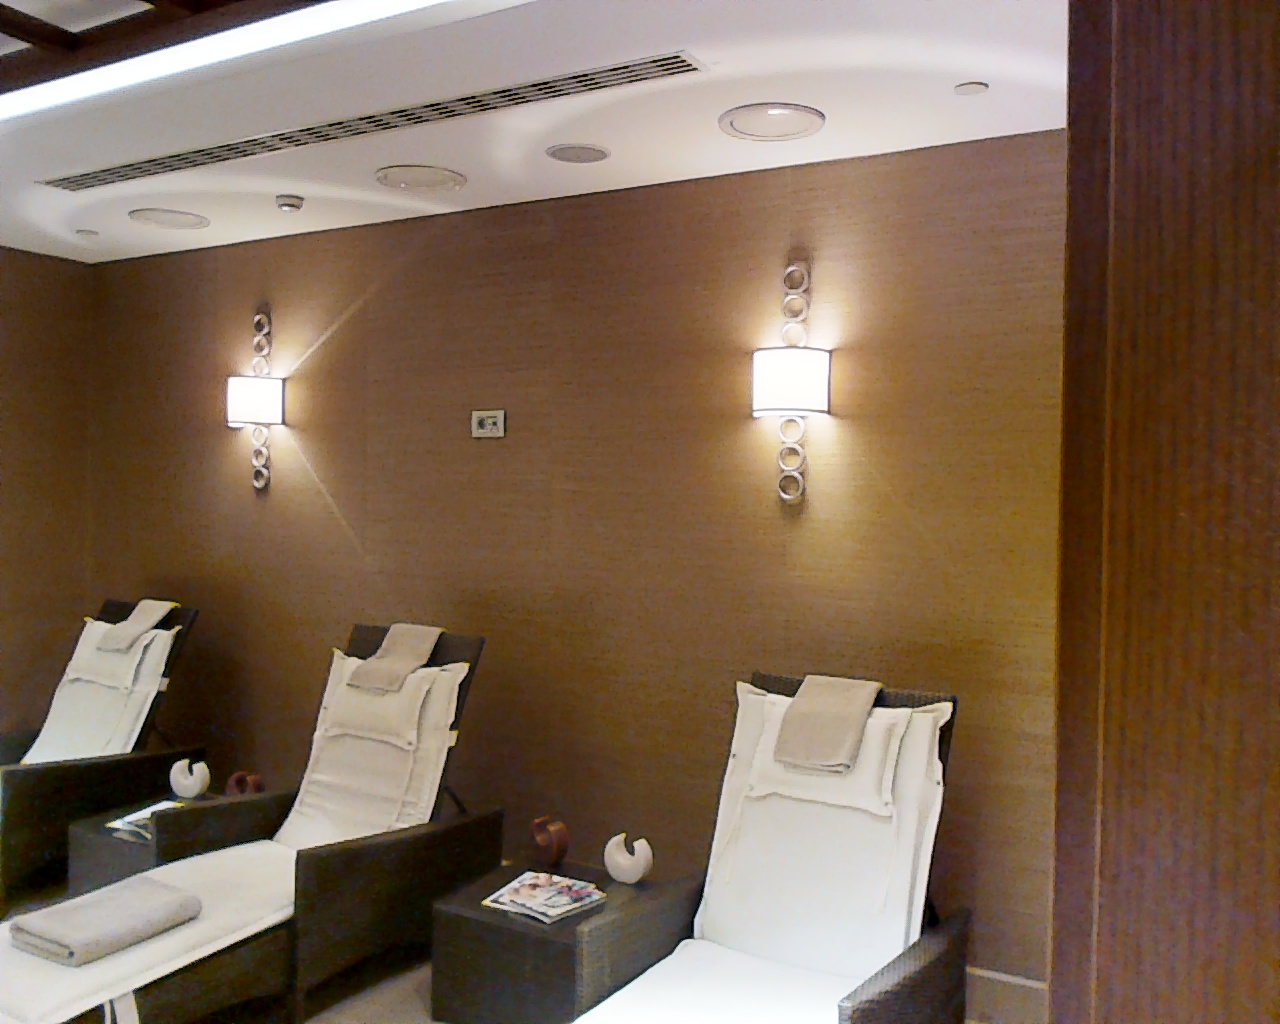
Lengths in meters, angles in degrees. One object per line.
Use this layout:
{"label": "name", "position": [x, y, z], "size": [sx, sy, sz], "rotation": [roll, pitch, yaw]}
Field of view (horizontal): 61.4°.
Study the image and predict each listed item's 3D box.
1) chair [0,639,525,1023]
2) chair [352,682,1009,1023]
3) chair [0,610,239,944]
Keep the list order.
{"label": "chair", "position": [-1.120, 1.000, 3.220], "size": [0.700, 1.010, 1.660], "rotation": [1, 1, 29]}
{"label": "chair", "position": [0.250, 1.040, 2.420], "size": [0.790, 1.000, 1.680], "rotation": [1, 1, 29]}
{"label": "chair", "position": [-2.429, 0.980, 4.040], "size": [0.640, 1.040, 1.720], "rotation": [1, 1, 29]}
